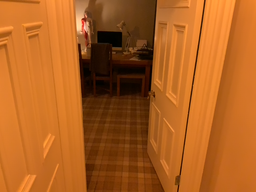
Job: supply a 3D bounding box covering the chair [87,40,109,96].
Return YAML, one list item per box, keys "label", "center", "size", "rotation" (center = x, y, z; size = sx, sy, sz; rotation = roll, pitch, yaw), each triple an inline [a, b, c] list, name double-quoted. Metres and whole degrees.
- label: "chair"
  center: [-0.560, -0.540, 4.080]
  size: [0.350, 0.990, 0.460]
  rotation: [0, 22, -3]
